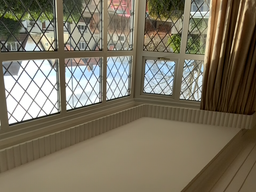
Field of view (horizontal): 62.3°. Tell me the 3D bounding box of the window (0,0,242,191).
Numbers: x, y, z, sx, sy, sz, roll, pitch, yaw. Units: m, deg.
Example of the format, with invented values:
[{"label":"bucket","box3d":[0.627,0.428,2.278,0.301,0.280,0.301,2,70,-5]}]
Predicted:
[{"label":"window","box3d":[-0.270,-0.650,1.560,1.170,1.920,2.940,16,-159,40]}]
